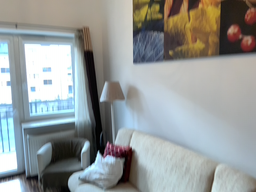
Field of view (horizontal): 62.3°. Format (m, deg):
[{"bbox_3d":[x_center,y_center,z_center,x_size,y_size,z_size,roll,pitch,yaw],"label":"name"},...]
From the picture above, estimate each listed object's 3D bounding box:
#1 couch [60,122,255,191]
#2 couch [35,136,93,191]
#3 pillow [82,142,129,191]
[{"bbox_3d":[0.120,0.950,2.040,1.020,0.920,1.950,-5,7,-31],"label":"couch"},{"bbox_3d":[-0.880,1.000,3.090,0.600,0.630,0.680,-1,6,0],"label":"couch"},{"bbox_3d":[-0.270,0.840,2.420,0.500,0.390,0.240,23,25,39],"label":"pillow"}]
